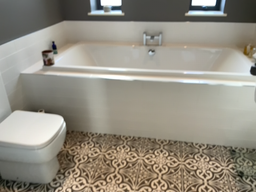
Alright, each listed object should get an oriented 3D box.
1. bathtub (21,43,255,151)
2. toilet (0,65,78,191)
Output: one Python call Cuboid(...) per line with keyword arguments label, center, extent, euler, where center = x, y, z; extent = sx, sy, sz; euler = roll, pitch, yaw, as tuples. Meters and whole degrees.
Cuboid(label="bathtub", center=(0.210, -0.110, 2.310), extent=(2.180, 0.600, 1.030), euler=(4, 29, 10))
Cuboid(label="toilet", center=(-0.760, 0.230, 1.510), extent=(0.600, 0.790, 0.390), euler=(4, 29, 9))
